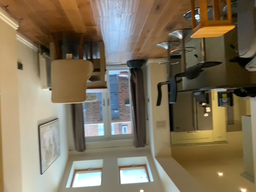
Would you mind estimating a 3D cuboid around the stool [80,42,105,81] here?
[{"bbox_3d":[-0.650,-0.620,4.100,0.370,0.540,1.170,-3,180,-6],"label":"stool"}]

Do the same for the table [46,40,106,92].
[{"bbox_3d":[-0.900,-0.500,4.110,0.880,0.740,1.570,-3,180,-6],"label":"table"}]

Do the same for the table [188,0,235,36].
[{"bbox_3d":[0.750,-0.780,1.940,0.290,0.360,0.300,-3,180,-3],"label":"table"}]
